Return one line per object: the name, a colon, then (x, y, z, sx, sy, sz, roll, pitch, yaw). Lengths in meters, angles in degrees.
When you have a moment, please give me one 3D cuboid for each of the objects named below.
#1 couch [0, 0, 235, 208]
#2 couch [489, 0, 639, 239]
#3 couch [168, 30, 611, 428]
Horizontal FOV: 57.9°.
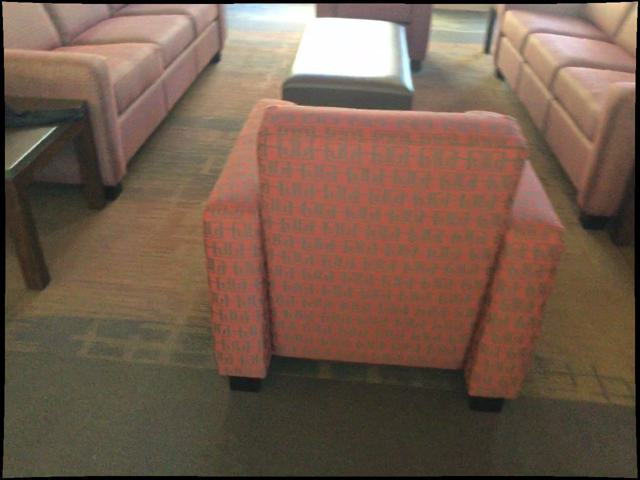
couch: (-1.139, -1.121, 3.130, 0.859, 0.921, 2.181, 4, 32, 3)
couch: (1.588, -0.961, 3.020, 0.889, 0.921, 2.231, 4, 32, 4)
couch: (0.150, -0.080, 1.660, 0.859, 0.811, 0.760, 4, 32, 4)
